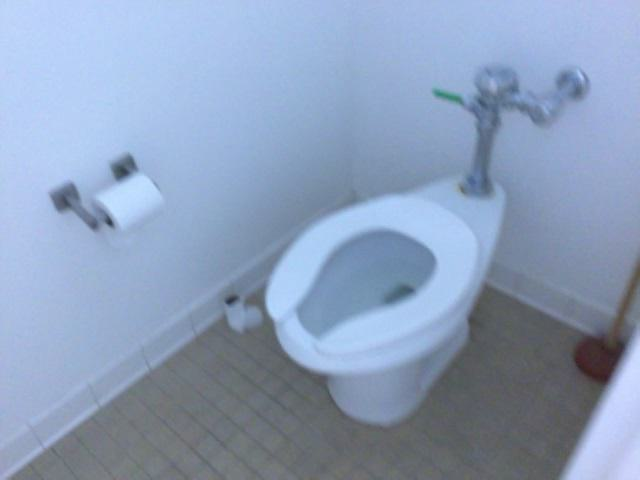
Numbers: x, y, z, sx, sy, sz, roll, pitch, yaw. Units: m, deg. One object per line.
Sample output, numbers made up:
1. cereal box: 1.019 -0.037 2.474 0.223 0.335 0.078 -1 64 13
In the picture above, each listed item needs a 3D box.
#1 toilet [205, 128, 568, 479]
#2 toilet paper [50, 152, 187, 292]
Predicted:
1. toilet: 0.180 0.150 1.390 0.430 0.460 0.720 28 51 31
2. toilet paper: -0.410 -0.040 1.200 0.150 0.190 0.170 29 51 31
